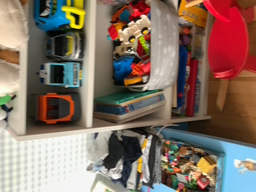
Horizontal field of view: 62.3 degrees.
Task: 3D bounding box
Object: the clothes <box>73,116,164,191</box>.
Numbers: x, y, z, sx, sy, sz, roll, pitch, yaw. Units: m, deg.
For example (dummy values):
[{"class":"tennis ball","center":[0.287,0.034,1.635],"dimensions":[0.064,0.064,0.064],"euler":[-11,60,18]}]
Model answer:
[{"class":"clothes","center":[-0.060,0.270,0.990],"dimensions":[0.370,0.240,0.290],"euler":[7,96,51]}]
